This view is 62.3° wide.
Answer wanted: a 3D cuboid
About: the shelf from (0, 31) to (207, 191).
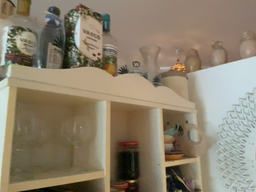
[{"bbox_3d":[-0.010,0.170,0.700,0.780,0.490,0.160,9,-15,-44],"label":"shelf"}]
